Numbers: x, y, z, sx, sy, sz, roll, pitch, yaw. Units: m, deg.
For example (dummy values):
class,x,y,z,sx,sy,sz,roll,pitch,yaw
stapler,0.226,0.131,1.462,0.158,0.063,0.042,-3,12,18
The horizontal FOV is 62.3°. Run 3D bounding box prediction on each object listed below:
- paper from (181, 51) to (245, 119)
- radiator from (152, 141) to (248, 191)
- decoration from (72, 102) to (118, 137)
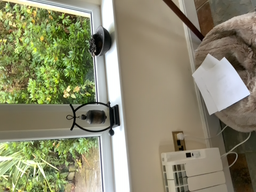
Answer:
class,x,y,z,sx,sy,sz,roll,pitch,yaw
paper,0.560,-0.070,1.460,0.290,0.120,0.350,-54,43,45
radiator,0.520,0.840,1.300,0.140,0.650,1.060,-30,62,57
decoration,-0.220,0.160,1.390,0.200,0.240,0.200,-22,69,59
